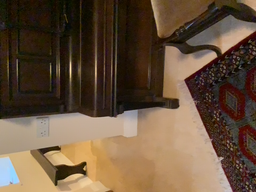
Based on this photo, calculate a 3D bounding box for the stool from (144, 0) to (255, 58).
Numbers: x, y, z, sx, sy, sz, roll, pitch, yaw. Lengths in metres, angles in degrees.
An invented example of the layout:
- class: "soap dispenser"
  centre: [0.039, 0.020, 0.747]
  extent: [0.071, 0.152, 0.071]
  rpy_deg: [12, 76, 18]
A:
- class: "stool"
  centre: [0.430, -0.560, 1.150]
  extent: [0.390, 0.580, 0.540]
  rpy_deg: [-24, 72, 51]

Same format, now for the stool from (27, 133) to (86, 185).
- class: "stool"
  centre: [-1.250, 0.960, 3.510]
  extent: [1.500, 0.480, 0.350]
  rpy_deg: [4, 94, 53]
